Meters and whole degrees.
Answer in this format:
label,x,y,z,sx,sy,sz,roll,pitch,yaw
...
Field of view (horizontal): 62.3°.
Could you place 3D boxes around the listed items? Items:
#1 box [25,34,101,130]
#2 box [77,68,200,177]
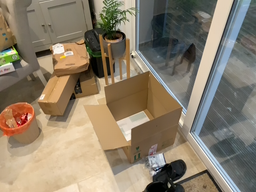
label,x,y,z,sx,sy,sz,roll,pitch,yaw
box,-0.500,-0.140,1.880,0.420,0.480,0.720,-2,47,0
box,0.060,0.160,1.490,0.670,0.360,0.420,-21,50,-17
